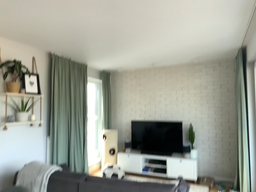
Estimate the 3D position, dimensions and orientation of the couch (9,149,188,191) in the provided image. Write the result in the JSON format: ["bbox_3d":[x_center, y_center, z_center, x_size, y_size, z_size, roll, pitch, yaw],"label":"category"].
[{"bbox_3d":[-0.350,1.240,2.720,2.070,0.790,0.970,-1,-4,22],"label":"couch"}]
